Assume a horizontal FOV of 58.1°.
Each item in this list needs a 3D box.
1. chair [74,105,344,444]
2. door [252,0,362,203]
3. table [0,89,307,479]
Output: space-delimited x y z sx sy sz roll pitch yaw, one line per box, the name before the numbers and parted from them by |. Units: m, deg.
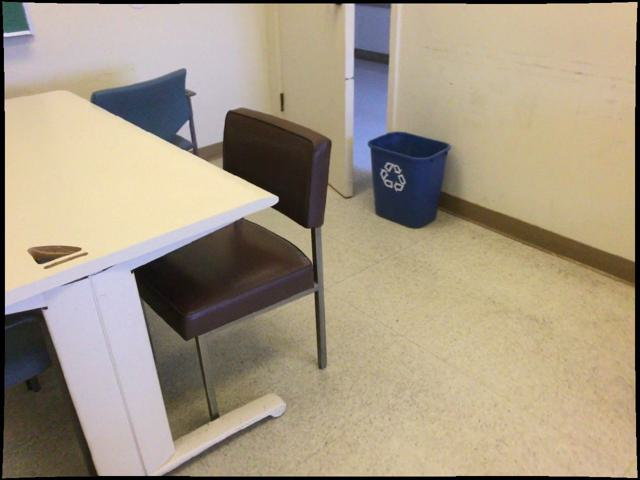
chair | -0.309 0.070 1.810 0.559 0.782 0.500 -24 36 -33
door | -0.110 -1.163 3.110 0.120 1.643 1.120 -15 31 -21
table | -0.868 0.080 1.930 0.809 0.741 1.559 -24 36 -33
